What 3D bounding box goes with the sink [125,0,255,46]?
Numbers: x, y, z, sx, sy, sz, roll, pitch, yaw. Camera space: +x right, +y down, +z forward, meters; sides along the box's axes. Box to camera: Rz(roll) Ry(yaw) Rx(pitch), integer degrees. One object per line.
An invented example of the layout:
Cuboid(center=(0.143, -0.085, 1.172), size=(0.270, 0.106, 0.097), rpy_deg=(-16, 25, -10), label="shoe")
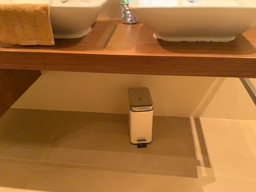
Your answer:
Cuboid(center=(0.290, -0.380, 0.950), size=(0.540, 0.140, 0.460), rpy_deg=(4, 34, 7), label="sink")
